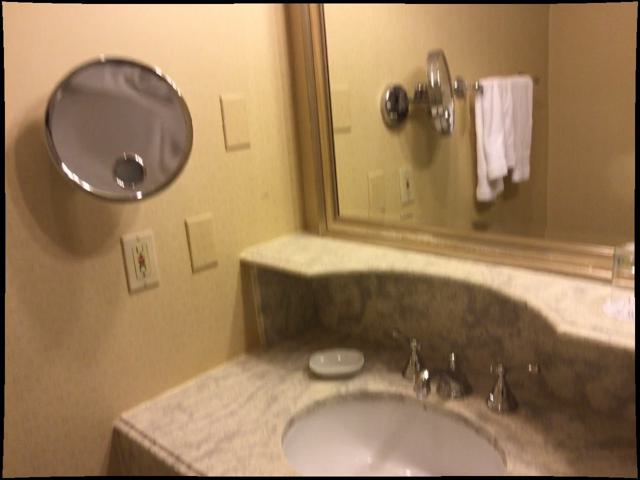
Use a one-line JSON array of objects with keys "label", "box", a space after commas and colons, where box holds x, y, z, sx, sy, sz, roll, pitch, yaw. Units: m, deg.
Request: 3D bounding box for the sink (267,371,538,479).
[{"label": "sink", "box": [0.150, 0.440, 1.090, 0.410, 0.180, 0.280, 10, 21, 43]}]

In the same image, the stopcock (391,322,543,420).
[{"label": "stopcock", "box": [0.300, 0.260, 1.200, 0.270, 0.080, 0.140, 10, 21, 43]}]
